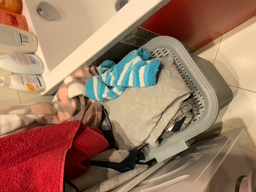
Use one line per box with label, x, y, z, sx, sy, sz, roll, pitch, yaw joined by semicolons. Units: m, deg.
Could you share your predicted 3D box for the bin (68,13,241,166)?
bin;0.120;0.000;0.880;0.480;0.440;0.320;-31;76;31
